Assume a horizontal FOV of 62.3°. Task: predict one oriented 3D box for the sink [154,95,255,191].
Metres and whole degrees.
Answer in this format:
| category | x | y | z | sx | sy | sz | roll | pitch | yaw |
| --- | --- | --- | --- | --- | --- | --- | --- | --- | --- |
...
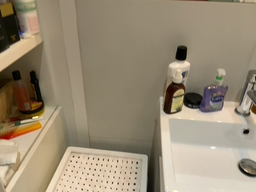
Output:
| category | x | y | z | sx | sy | sz | roll | pitch | yaw |
| --- | --- | --- | --- | --- | --- | --- | --- | --- | --- |
| sink | 0.400 | 0.200 | 0.690 | 0.610 | 0.160 | 0.420 | 5 | 32 | 5 |
